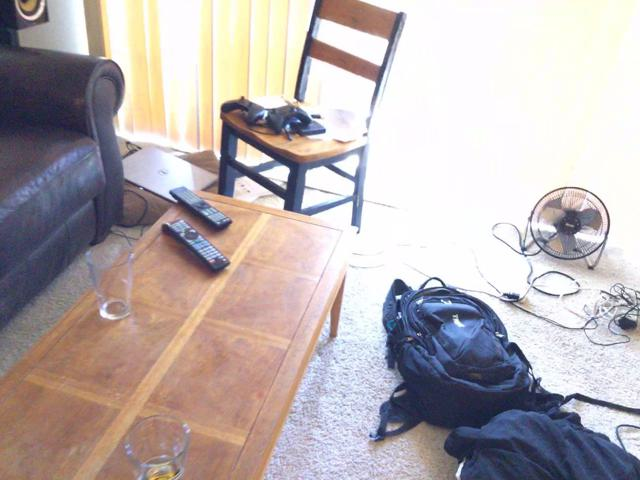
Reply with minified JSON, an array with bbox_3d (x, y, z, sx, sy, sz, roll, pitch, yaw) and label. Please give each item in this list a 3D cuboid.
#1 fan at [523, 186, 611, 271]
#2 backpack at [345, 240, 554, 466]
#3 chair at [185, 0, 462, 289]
[{"bbox_3d":[0.940,-0.050,2.230,0.240,0.190,0.230,17,30,8],"label":"fan"},{"bbox_3d":[0.400,0.290,1.750,0.490,0.180,0.650,17,30,8],"label":"backpack"},{"bbox_3d":[-0.030,-0.410,2.110,0.640,0.870,0.580,-16,40,-40],"label":"chair"}]
